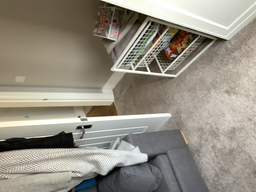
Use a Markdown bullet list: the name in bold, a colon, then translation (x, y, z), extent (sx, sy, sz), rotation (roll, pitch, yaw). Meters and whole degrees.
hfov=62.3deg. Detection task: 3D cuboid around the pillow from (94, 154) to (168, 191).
- **pillow**: translation (0.000, 0.670, 1.650), extent (0.500, 0.310, 0.220), rotation (-47, 54, 44)
